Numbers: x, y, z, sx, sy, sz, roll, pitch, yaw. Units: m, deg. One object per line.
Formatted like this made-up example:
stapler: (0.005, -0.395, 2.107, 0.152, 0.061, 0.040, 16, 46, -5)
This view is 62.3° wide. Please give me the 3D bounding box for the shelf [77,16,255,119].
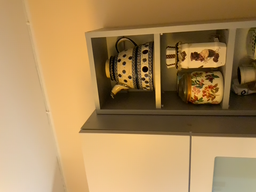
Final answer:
shelf: (0.220, -0.110, 0.780, 0.220, 0.730, 0.310, -63, -29, -66)
